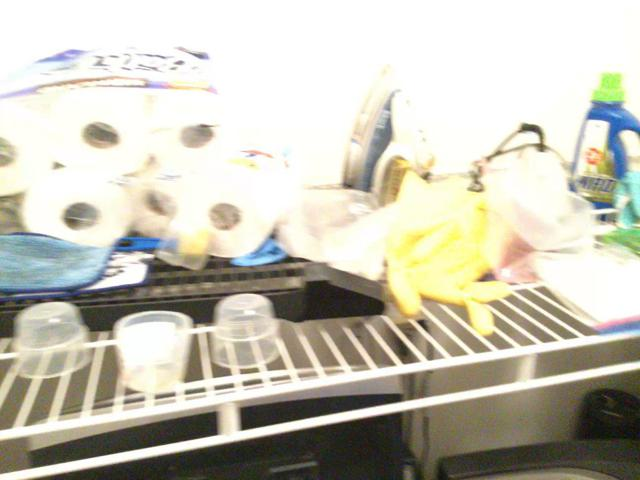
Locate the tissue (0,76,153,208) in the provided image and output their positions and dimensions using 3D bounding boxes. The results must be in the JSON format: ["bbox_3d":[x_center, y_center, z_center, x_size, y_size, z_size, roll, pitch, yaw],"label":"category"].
[{"bbox_3d":[-0.360,-0.130,0.750,0.260,0.150,0.090,-6,20,-15],"label":"tissue"}]

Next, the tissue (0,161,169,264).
[{"bbox_3d":[-0.300,-0.040,0.750,0.190,0.100,0.080,-6,20,-15],"label":"tissue"}]

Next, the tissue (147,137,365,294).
[{"bbox_3d":[-0.100,-0.050,0.790,0.250,0.130,0.250,-6,20,-15],"label":"tissue"}]
